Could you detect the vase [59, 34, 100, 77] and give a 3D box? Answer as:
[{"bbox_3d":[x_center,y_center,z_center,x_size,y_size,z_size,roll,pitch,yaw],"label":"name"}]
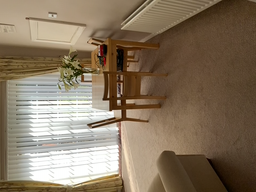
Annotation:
[{"bbox_3d":[-0.690,-0.520,2.910,0.630,0.440,0.470,-176,85,-66],"label":"vase"}]
